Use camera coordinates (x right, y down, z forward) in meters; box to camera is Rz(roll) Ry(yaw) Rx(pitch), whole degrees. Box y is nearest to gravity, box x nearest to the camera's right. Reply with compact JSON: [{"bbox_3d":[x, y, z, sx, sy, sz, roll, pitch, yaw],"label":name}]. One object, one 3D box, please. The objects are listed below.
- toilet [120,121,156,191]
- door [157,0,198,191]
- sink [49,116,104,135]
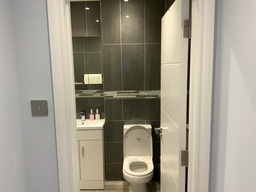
[{"bbox_3d":[0.110,0.790,2.570,0.380,0.850,0.600,-1,8,0],"label":"toilet"},{"bbox_3d":[0.320,0.330,1.590,0.050,2.030,0.840,-1,8,-2],"label":"door"},{"bbox_3d":[-0.650,0.380,2.800,0.630,0.140,0.400,-1,8,0],"label":"sink"}]
